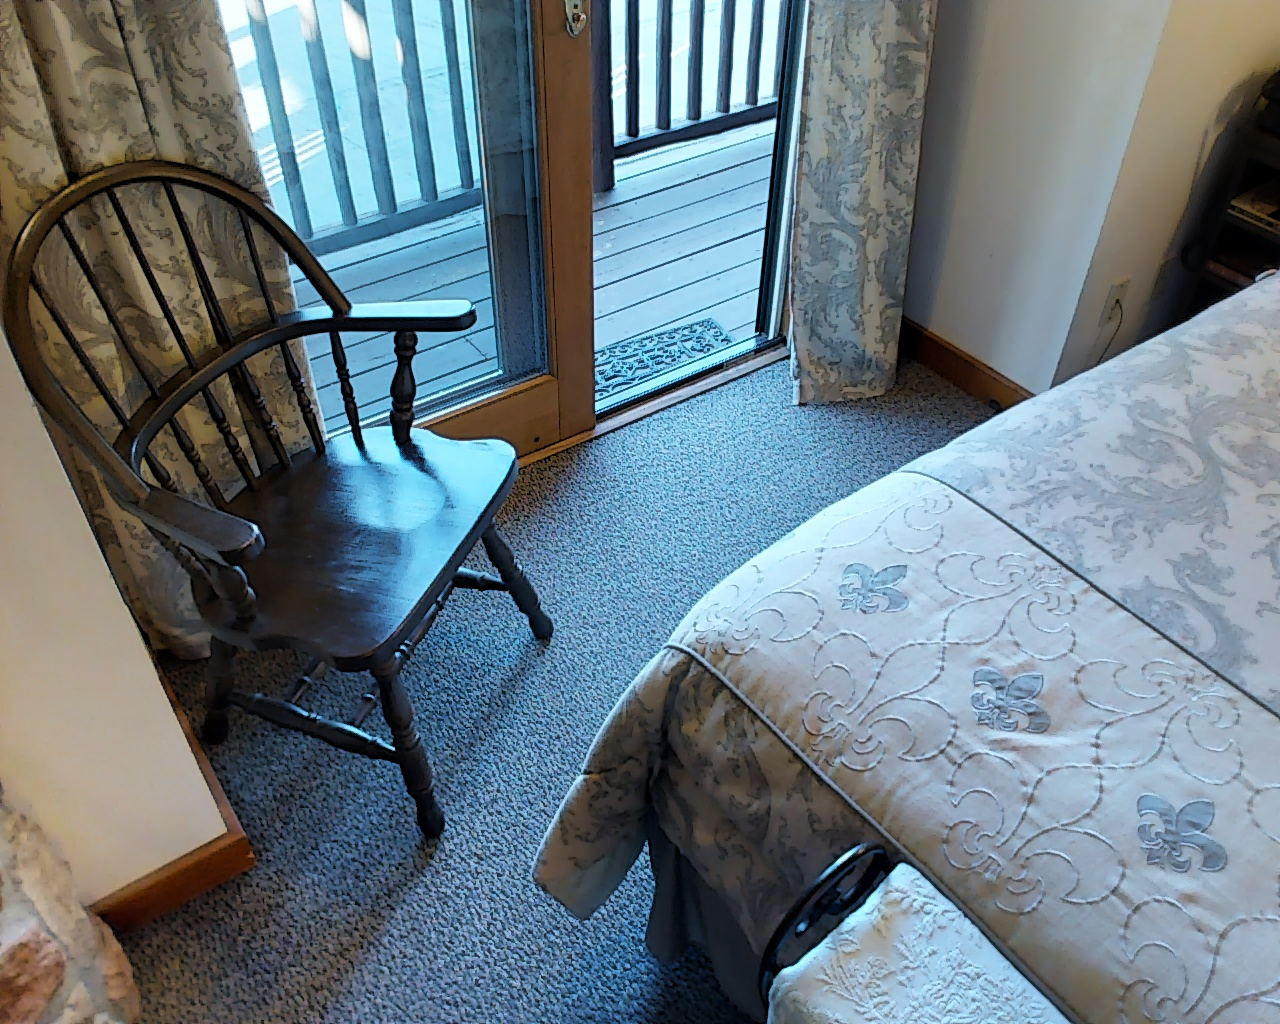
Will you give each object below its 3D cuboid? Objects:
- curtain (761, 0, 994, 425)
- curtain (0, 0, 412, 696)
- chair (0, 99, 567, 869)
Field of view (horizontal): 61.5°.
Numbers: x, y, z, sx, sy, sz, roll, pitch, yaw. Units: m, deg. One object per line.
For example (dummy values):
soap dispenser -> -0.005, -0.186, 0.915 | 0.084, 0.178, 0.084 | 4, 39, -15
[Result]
curtain -> 0.500, -1.130, 2.030 | 0.380, 2.130, 0.190 | -26, 48, -25
curtain -> -0.690, -0.580, 1.430 | 0.390, 2.120, 0.200 | -27, 48, -26
chair -> -0.530, -0.040, 1.720 | 0.580, 0.940, 0.660 | 11, 43, 13
